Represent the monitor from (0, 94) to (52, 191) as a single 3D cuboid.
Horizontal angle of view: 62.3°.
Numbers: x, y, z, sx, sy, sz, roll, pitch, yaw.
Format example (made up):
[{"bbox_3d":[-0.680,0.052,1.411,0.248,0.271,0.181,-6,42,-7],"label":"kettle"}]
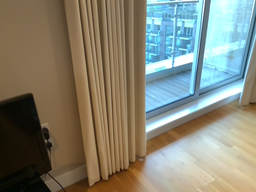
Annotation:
[{"bbox_3d":[-0.740,0.320,0.970,0.700,0.490,0.030,-22,33,-35],"label":"monitor"}]
